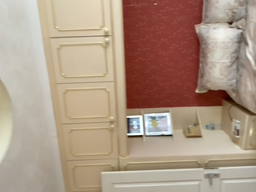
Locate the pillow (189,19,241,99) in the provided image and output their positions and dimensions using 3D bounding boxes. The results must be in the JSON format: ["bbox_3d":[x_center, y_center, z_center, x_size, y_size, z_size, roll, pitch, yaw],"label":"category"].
[{"bbox_3d":[0.940,-0.370,2.270,0.200,0.450,0.760,-27,-69,-59],"label":"pillow"}]
